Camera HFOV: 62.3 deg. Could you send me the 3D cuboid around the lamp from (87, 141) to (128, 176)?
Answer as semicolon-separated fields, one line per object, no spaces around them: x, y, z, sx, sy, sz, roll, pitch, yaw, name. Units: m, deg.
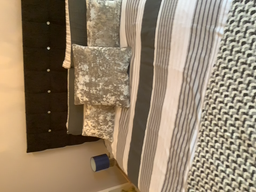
-0.230;0.680;2.350;0.250;0.370;0.200;33;122;54;lamp
